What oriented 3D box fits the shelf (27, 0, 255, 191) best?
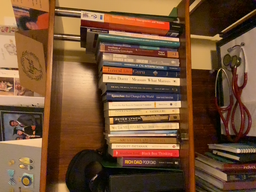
[{"bbox_3d":[0.510,0.080,0.840,0.350,1.590,0.770,153,118,-77],"label":"shelf"}]
